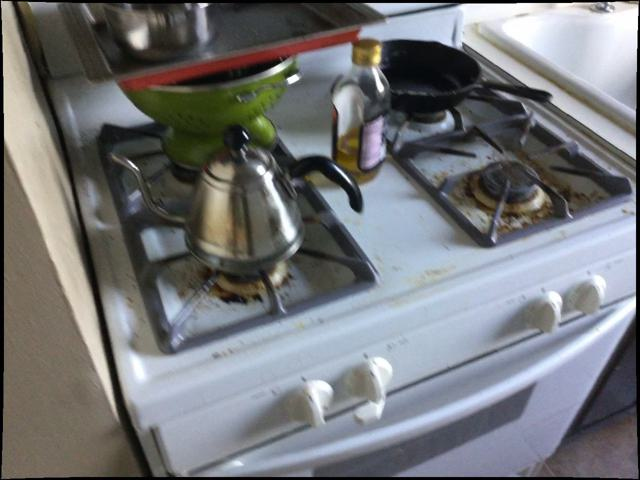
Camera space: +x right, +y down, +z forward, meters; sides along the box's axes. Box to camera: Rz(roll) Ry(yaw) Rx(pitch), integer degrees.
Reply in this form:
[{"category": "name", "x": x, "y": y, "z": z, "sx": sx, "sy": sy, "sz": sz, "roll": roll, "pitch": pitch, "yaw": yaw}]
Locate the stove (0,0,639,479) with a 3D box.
[{"category": "stove", "x": 0.030, "y": 0.070, "z": 1.050, "sx": 0.938, "sy": 1.312, "sz": 0.730, "roll": -18, "pitch": 46, "yaw": -16}]
